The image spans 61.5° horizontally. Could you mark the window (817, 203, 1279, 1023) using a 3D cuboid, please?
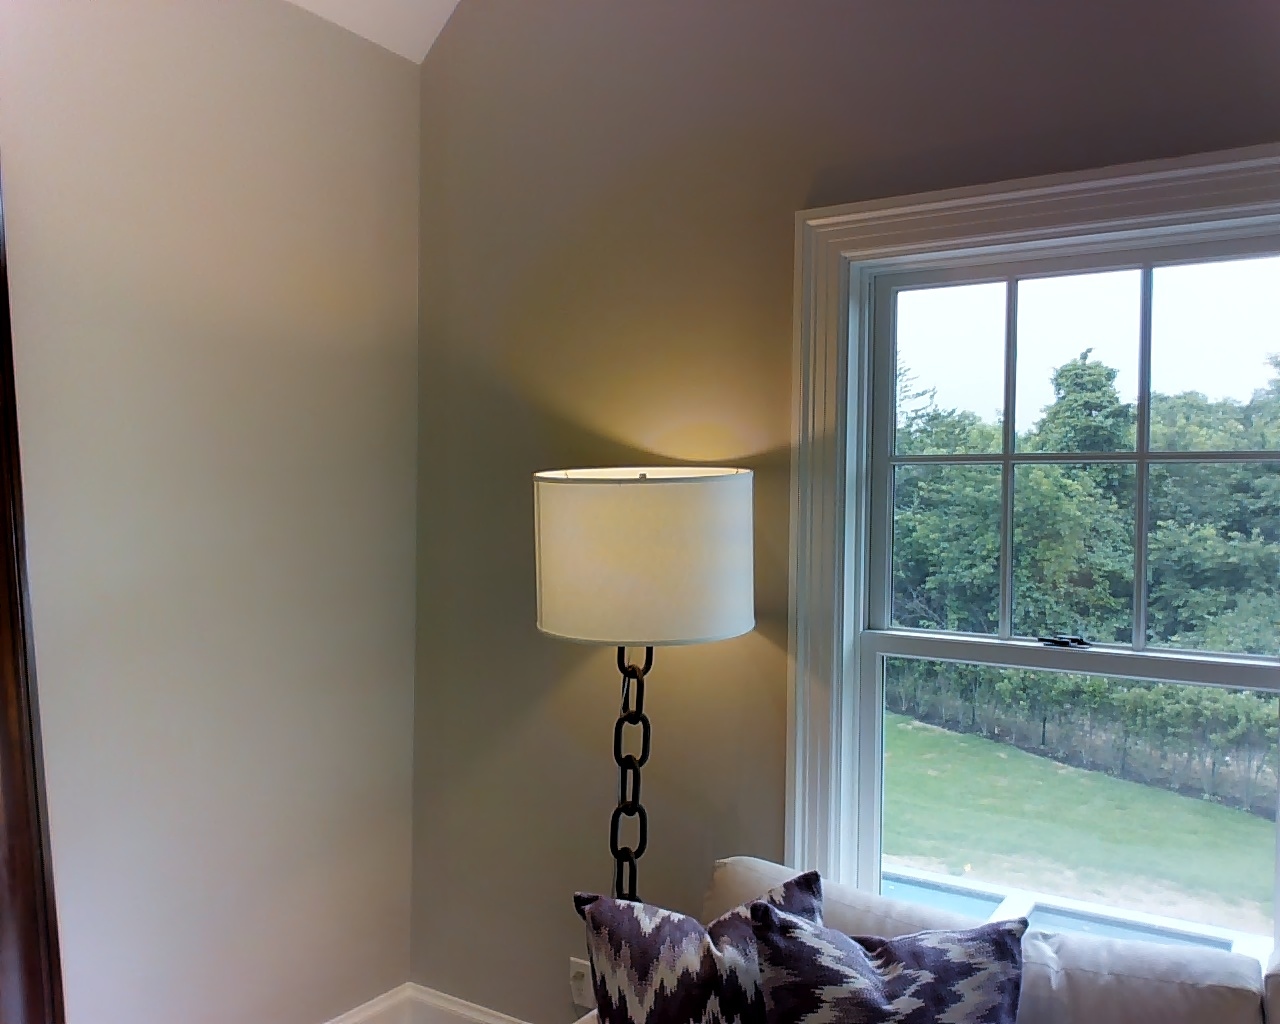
[{"bbox_3d":[1.250,0.320,1.920,1.910,1.730,0.150,1,1,33],"label":"window"}]
